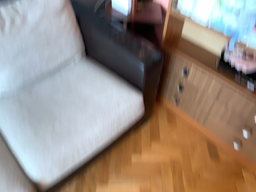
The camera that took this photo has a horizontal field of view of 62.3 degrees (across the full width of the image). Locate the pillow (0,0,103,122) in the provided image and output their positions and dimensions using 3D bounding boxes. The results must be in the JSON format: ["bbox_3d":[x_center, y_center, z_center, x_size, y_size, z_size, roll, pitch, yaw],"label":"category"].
[{"bbox_3d":[-0.550,-0.270,1.200,0.620,0.510,0.230,-45,35,-17],"label":"pillow"}]
